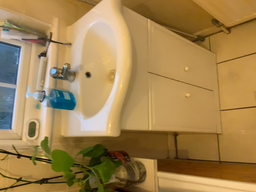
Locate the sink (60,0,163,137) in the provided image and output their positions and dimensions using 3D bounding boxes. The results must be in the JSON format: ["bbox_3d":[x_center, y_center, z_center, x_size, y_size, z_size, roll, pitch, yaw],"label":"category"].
[{"bbox_3d":[-0.090,-0.100,0.920,0.440,0.190,0.540,-13,73,46],"label":"sink"}]

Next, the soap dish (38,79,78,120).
[{"bbox_3d":[-0.300,0.020,0.910,0.120,0.110,0.150,-11,74,47],"label":"soap dish"}]
